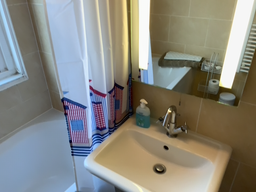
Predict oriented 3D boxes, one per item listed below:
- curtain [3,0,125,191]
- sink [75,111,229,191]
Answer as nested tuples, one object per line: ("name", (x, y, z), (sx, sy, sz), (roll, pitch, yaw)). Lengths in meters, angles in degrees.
("curtain", (-0.220, -0.090, 0.960), (0.180, 1.880, 0.390), (19, 36, 29))
("sink", (0.120, 0.320, 0.990), (0.550, 0.140, 0.440), (17, 35, 27))
